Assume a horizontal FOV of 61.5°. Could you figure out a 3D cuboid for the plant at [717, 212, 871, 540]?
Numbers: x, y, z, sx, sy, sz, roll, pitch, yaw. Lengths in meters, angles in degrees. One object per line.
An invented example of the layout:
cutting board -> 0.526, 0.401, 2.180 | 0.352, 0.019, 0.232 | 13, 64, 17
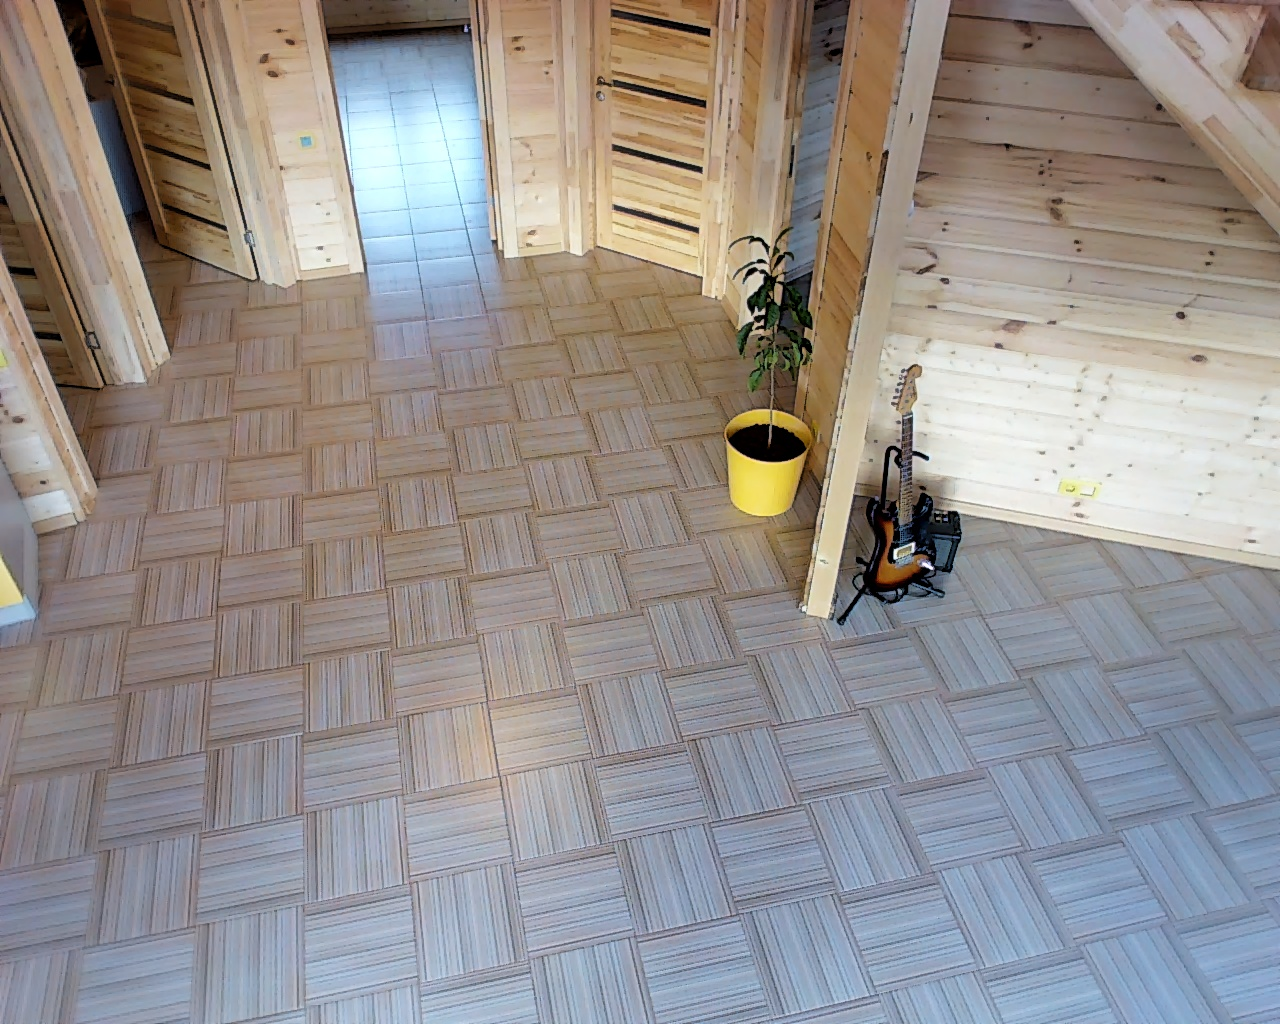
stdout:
plant -> 0.610, -0.520, 4.430 | 0.450, 1.310, 0.370 | 10, 43, 10
